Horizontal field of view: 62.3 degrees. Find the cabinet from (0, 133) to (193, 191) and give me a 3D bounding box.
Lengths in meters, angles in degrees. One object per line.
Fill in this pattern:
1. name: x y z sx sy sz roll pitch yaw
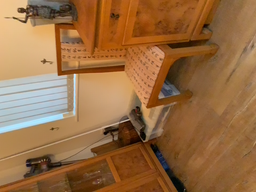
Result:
1. cabinet: -0.440 1.010 1.890 0.790 1.980 0.380 55 146 38
